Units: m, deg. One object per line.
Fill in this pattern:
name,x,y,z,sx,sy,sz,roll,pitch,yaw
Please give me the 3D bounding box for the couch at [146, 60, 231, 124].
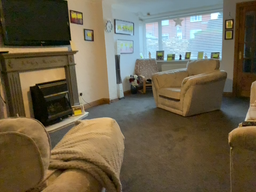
couch,1.100,-0.180,4.100,0.970,0.950,1.220,-8,14,-25
